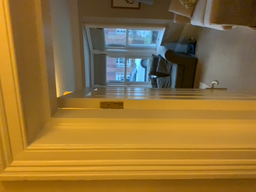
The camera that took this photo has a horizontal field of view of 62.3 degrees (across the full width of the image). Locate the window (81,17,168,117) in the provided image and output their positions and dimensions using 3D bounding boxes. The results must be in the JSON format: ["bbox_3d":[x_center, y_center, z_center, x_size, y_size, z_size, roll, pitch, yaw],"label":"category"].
[{"bbox_3d":[-0.140,-0.760,5.750,0.880,2.030,2.500,-98,10,-70],"label":"window"}]
